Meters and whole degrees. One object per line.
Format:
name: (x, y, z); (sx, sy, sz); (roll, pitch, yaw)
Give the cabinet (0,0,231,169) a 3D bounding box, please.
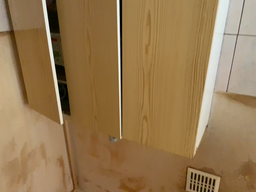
cabinet: (-0.110, -0.210, 0.970); (0.960, 0.710, 0.330); (13, -154, 26)
